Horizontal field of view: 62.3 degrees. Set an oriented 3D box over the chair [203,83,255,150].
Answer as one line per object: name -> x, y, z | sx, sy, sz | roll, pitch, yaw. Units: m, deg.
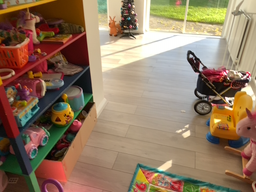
chair -> 0.950, 0.180, 2.040 | 0.350, 0.400, 0.450 | 11, 33, 15
